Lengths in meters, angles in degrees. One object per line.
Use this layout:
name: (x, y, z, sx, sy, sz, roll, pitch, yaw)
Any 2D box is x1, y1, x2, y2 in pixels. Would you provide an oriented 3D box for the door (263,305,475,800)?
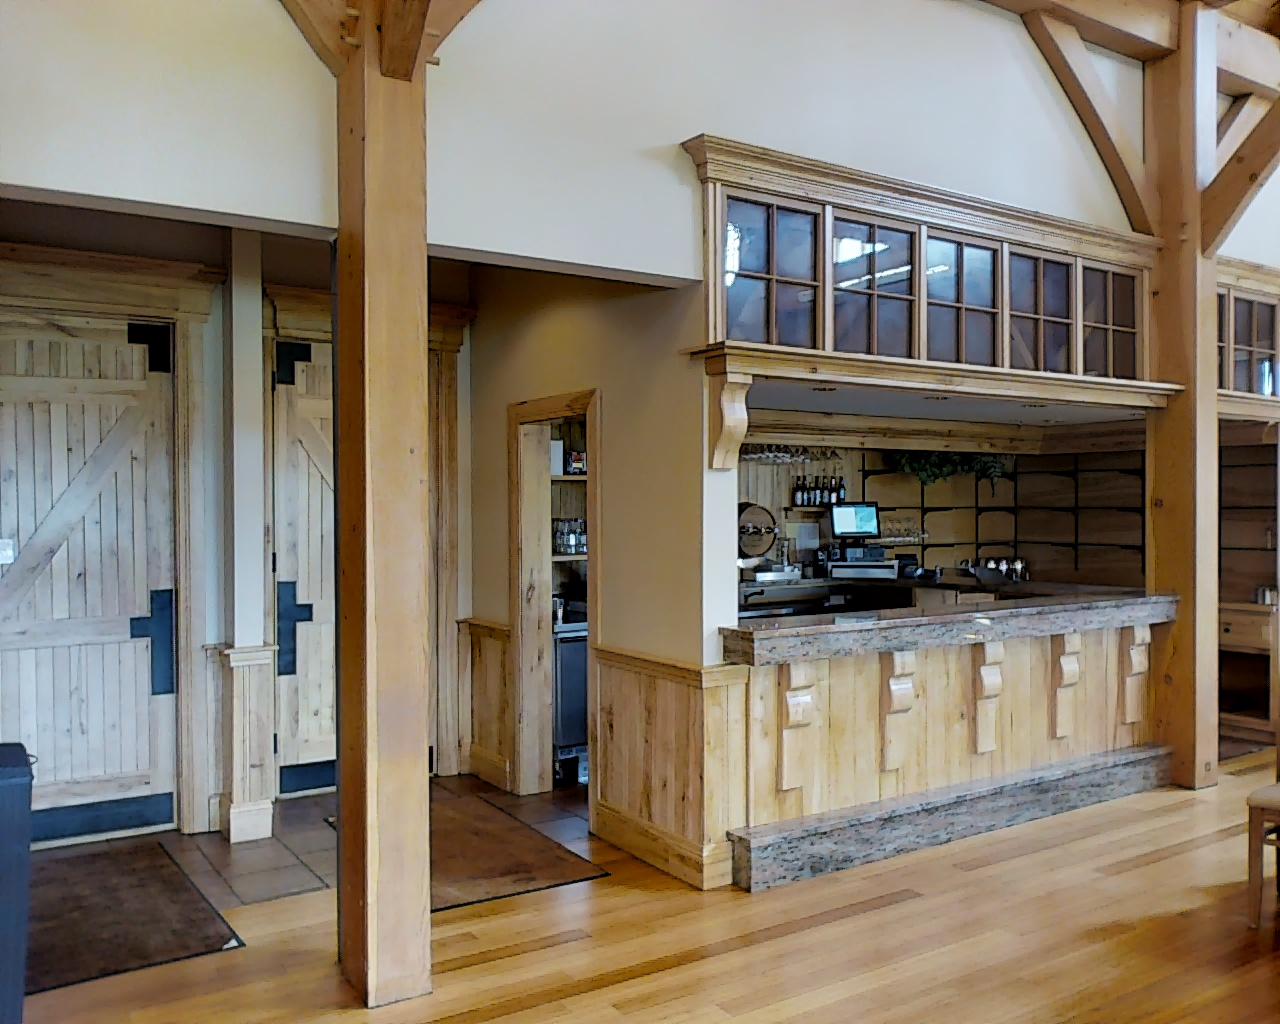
door: (-1.480, 0.210, 5.970, 1.170, 2.590, 0.100, 0, 1, -34)

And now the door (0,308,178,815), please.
door: (-2.610, 0.220, 4.930, 0.880, 2.250, 0.050, 0, 1, -33)
